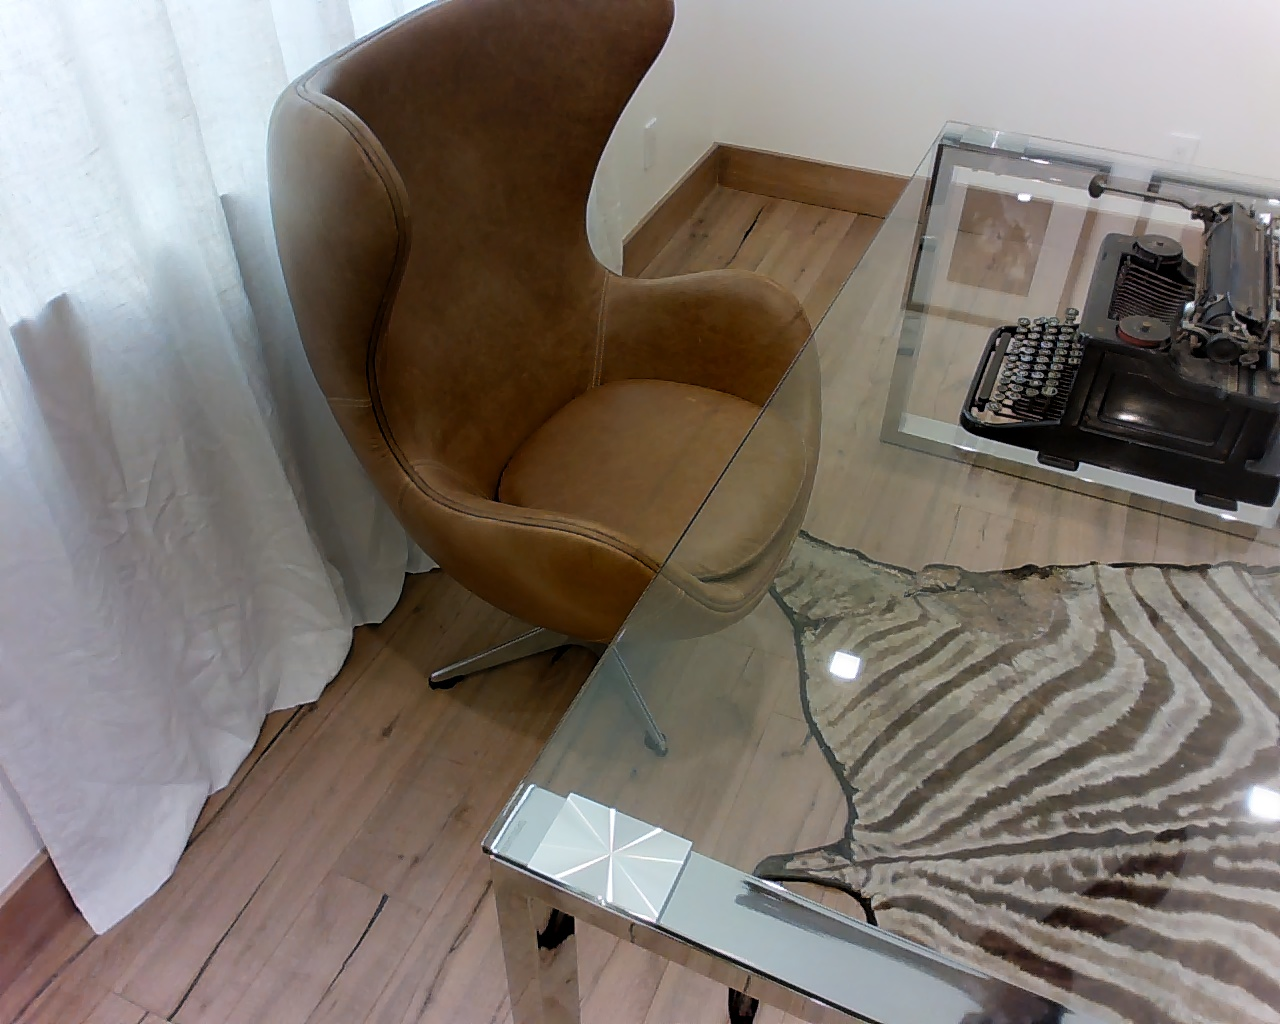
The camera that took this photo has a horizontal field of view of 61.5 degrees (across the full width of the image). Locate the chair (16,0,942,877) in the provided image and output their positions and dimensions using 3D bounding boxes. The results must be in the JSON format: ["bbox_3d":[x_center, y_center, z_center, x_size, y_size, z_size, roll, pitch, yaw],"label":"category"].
[{"bbox_3d":[-0.130,-0.230,1.740,0.850,1.110,0.890,17,44,17],"label":"chair"}]
